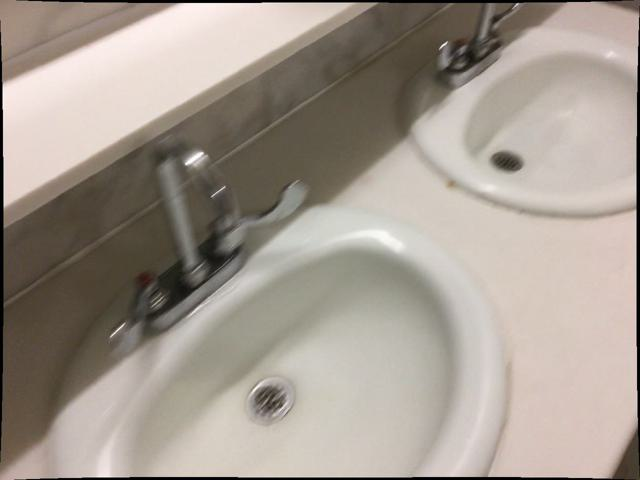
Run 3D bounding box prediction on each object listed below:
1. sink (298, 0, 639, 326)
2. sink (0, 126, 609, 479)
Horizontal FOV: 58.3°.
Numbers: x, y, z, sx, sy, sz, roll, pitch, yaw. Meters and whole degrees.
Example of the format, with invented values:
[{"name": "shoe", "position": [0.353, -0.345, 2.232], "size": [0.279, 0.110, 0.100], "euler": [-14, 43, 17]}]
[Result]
[{"name": "sink", "position": [0.330, -0.220, 0.990], "size": [0.510, 0.200, 0.530], "euler": [34, 56, 24]}, {"name": "sink", "position": [-0.030, 0.190, 0.680], "size": [0.440, 0.270, 0.530], "euler": [34, 56, 24]}]
